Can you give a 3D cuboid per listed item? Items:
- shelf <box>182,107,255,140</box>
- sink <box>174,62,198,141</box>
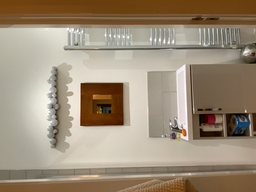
[{"bbox_3d":[0.900,0.230,1.850,0.280,0.770,0.250,125,144,-84],"label":"shelf"},{"bbox_3d":[0.500,0.050,1.860,0.240,0.110,0.640,125,144,-84],"label":"sink"}]
